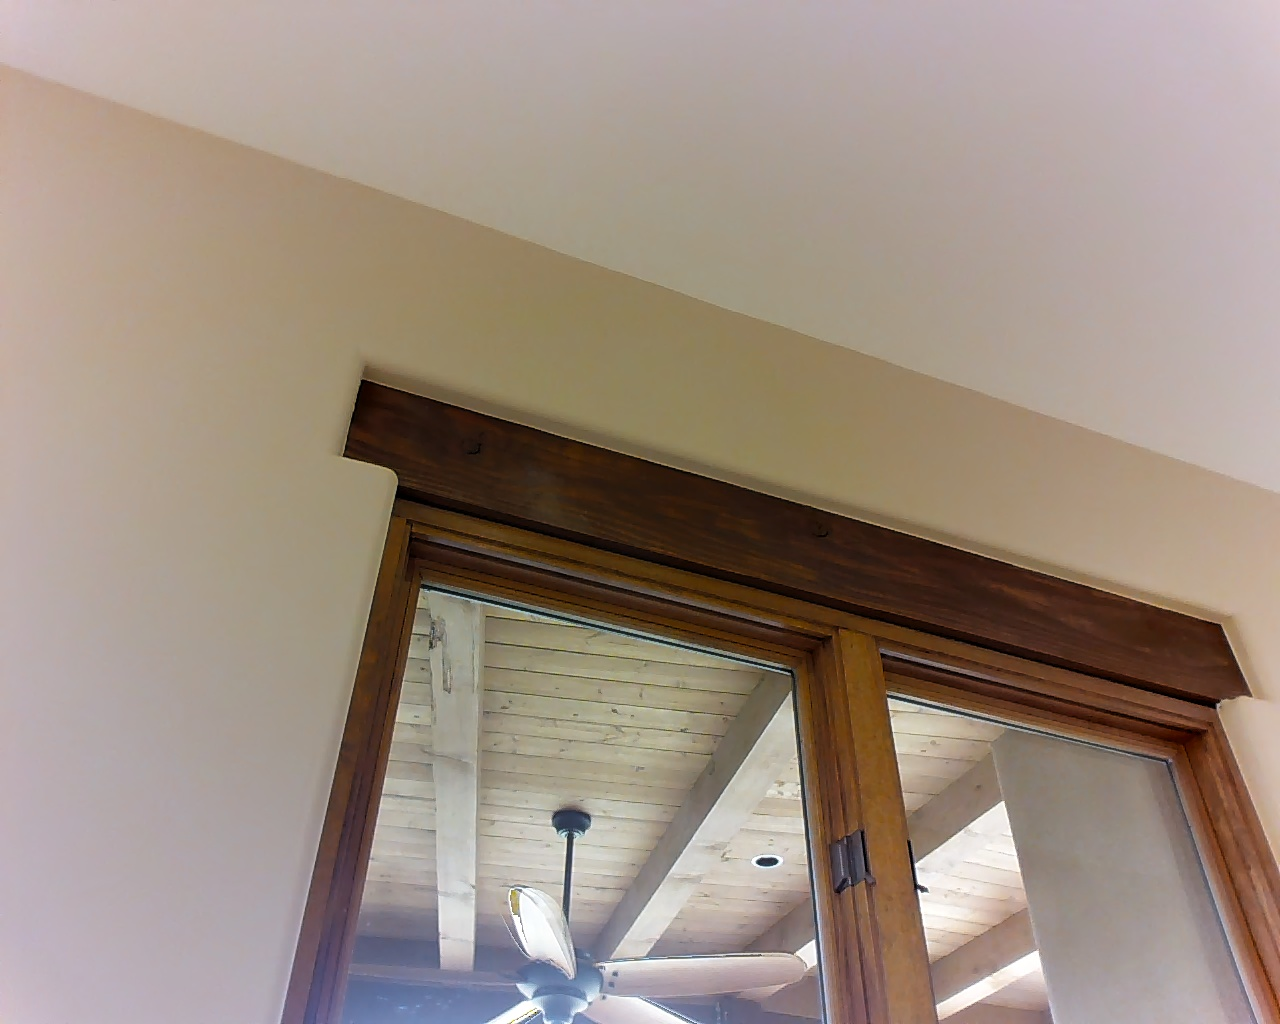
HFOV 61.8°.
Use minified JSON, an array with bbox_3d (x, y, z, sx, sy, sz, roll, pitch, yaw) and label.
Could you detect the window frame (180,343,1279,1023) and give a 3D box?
[{"bbox_3d":[0.330,0.680,1.290,1.669,1.741,0.180,16,-43,-16],"label":"window frame"}]
